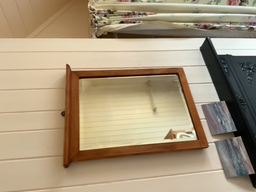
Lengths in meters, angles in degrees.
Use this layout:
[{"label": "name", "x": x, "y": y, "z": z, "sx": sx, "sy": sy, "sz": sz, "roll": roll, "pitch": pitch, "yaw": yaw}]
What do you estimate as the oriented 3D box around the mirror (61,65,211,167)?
[{"label": "mirror", "x": 0.020, "y": 0.060, "z": 1.060, "sx": 0.040, "sy": 0.660, "sz": 0.500, "roll": 102, "pitch": 162, "yaw": -57}]
